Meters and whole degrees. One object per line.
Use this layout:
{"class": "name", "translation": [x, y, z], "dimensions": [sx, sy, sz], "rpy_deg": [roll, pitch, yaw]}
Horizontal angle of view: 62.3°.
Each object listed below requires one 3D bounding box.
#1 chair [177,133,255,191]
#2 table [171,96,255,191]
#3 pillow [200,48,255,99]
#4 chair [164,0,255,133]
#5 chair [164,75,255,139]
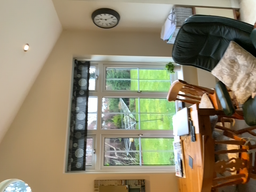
{"class": "chair", "translation": [0.960, 0.590, 1.980], "dimensions": [0.620, 0.820, 0.470], "rpy_deg": [118, 152, -80]}
{"class": "table", "translation": [0.980, 0.890, 2.200], "dimensions": [0.820, 0.730, 1.590], "rpy_deg": [103, 167, -69]}
{"class": "pillow", "translation": [0.890, -0.170, 1.790], "dimensions": [0.410, 0.460, 0.120], "rpy_deg": [27, -138, -57]}
{"class": "chair", "translation": [0.900, -0.200, 1.720], "dimensions": [0.740, 0.970, 0.780], "rpy_deg": [98, 171, -60]}
{"class": "chair", "translation": [0.920, 0.140, 2.510], "dimensions": [0.520, 0.830, 0.550], "rpy_deg": [97, 172, -55]}
